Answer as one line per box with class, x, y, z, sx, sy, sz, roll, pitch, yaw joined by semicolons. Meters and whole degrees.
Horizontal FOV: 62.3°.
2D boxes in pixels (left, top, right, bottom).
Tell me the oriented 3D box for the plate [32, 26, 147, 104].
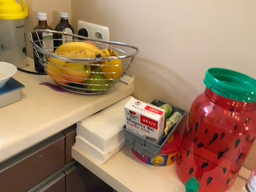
plate;-0.110;-0.120;0.670;0.200;0.140;0.280;25;32;30
